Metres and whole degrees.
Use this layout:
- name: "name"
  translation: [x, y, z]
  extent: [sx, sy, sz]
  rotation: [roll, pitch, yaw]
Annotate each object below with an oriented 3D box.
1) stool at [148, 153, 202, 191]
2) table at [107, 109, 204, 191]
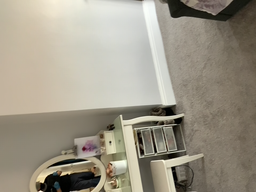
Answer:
- name: "stool"
  translation: [0.480, 0.850, 2.210]
  extent: [0.320, 0.370, 0.410]
  rotation: [136, 128, -61]
- name: "table"
  translation: [0.260, 0.720, 2.250]
  extent: [0.550, 0.720, 1.010]
  rotation: [140, 124, -63]
